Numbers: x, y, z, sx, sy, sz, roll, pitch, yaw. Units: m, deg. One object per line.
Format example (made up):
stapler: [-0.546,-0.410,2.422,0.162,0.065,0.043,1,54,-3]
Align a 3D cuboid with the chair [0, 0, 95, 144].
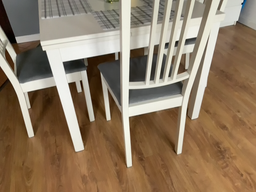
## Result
chair: [-0.560,-0.260,1.290,0.520,0.980,0.430,-15,41,-18]

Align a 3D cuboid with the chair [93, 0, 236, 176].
chair: [0.100,-0.130,1.120,0.400,0.980,0.520,-12,40,-15]
